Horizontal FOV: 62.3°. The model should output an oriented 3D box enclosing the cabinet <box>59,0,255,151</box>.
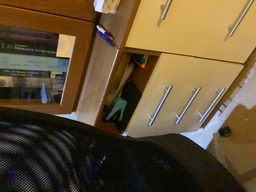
[{"bbox_3d":[0.170,-0.280,0.980,0.490,0.730,0.910,57,135,42],"label":"cabinet"}]
